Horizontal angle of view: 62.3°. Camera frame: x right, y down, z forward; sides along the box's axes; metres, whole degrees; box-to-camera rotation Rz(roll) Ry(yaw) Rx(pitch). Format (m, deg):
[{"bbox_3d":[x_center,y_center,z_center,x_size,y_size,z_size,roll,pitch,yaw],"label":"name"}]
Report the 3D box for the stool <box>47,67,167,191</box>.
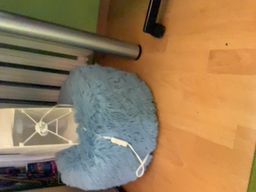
[{"bbox_3d":[-0.130,0.140,0.920,0.460,0.290,0.480,16,100,58],"label":"stool"}]
